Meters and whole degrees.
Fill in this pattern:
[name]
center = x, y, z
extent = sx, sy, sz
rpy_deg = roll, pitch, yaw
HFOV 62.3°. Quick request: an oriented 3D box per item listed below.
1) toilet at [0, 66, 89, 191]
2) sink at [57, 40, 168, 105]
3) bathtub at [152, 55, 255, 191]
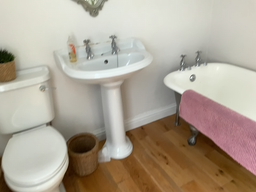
[toilet]
center = -0.610, 0.320, 1.370
extent = 0.460, 0.790, 0.670
rpy_deg = -16, 30, -23
[sink]
center = -0.120, -0.210, 1.520
extent = 0.630, 0.200, 0.490
rpy_deg = -16, 30, -23
[bathtub]
center = 0.950, 0.270, 1.430
extent = 0.770, 0.580, 1.650
rpy_deg = -17, 30, -23
